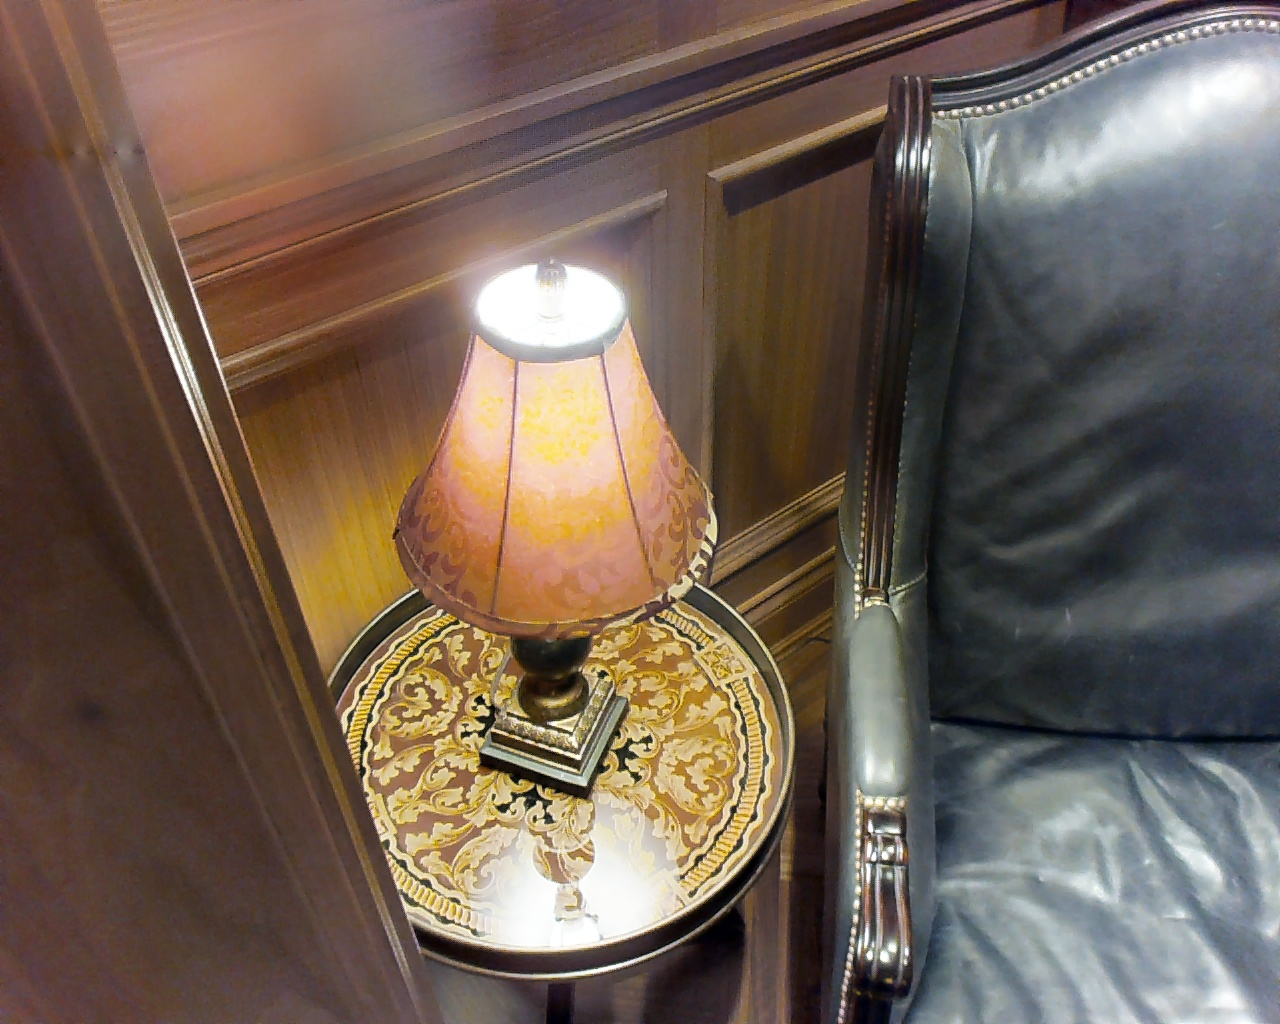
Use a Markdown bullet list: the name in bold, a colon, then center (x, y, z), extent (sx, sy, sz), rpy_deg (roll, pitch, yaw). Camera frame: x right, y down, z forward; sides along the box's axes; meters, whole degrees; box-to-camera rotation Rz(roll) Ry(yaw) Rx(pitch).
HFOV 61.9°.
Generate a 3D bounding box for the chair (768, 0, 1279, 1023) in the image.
- **chair**: center (0.560, 0.220, 1.060), extent (0.800, 1.150, 0.990), rpy_deg (2, 43, 5)
